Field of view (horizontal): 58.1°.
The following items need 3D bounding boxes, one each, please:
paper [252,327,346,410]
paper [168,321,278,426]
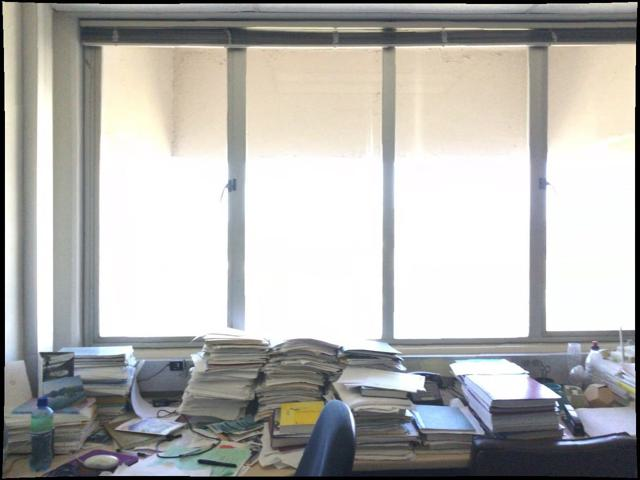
[{"bbox_3d":[-0.090,0.511,2.350,0.359,0.261,0.290,0,2,-4],"label":"paper"},{"bbox_3d":[-0.379,0.531,2.380,0.409,0.321,0.420,0,2,-4],"label":"paper"}]
